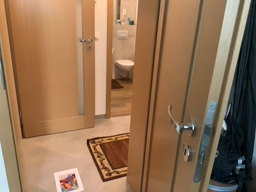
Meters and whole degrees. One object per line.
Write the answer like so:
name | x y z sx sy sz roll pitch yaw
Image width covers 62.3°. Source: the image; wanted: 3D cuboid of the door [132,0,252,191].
door | 0.150 0.050 1.000 0.080 2.000 0.980 2 20 -3
